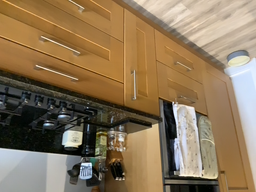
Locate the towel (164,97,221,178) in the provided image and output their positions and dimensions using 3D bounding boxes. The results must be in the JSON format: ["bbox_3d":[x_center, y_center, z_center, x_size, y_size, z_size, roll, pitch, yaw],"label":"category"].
[{"bbox_3d":[0.450,0.300,1.470,0.450,0.490,0.090,18,151,-37],"label":"towel"}]

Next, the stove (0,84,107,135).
[{"bbox_3d":[-0.520,0.100,1.120,0.600,0.030,0.550,19,150,-38],"label":"stove"}]
